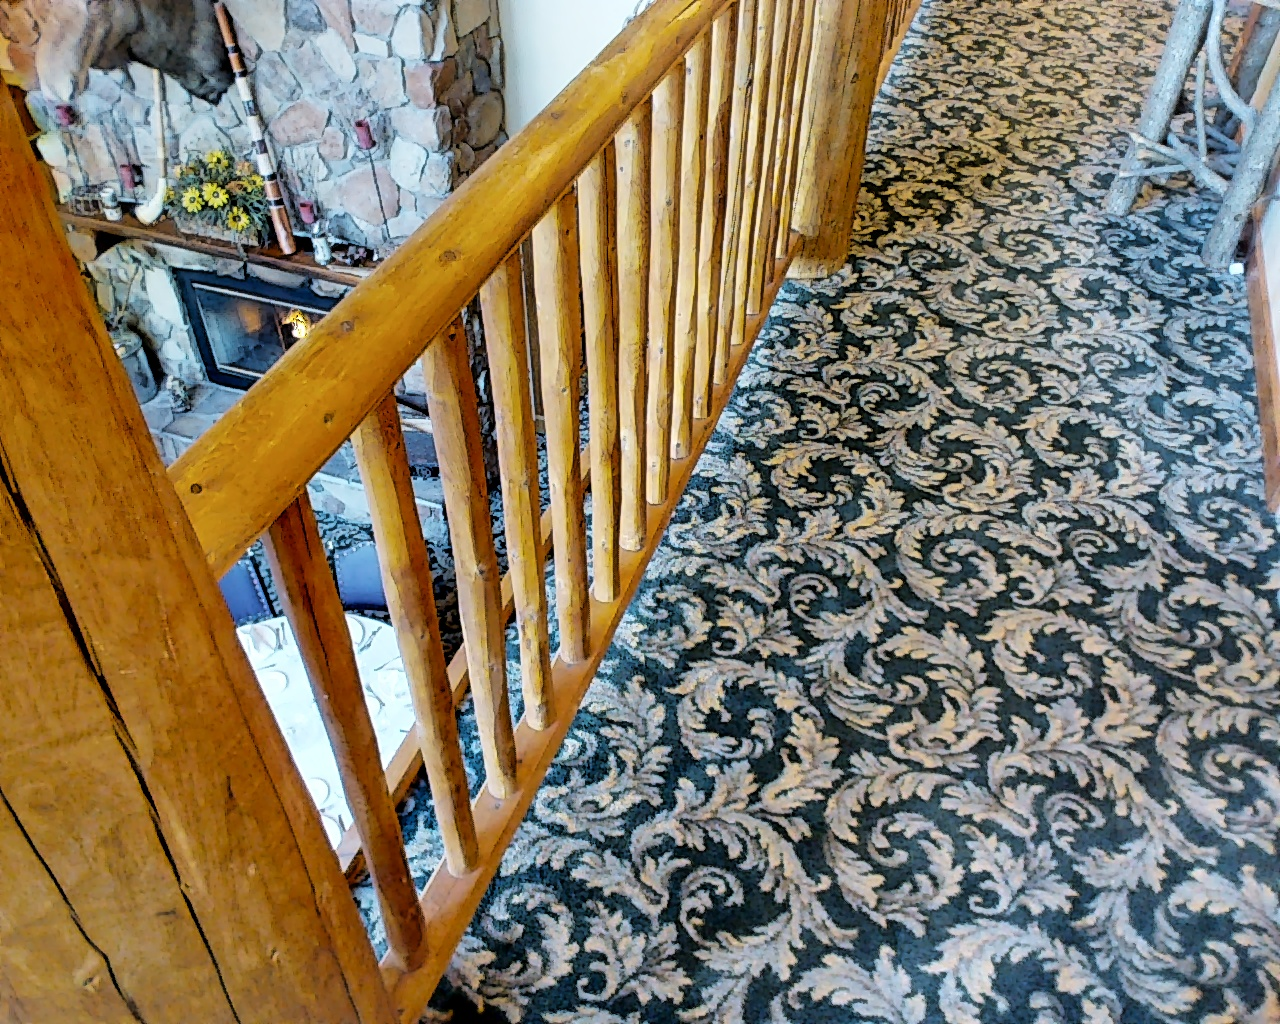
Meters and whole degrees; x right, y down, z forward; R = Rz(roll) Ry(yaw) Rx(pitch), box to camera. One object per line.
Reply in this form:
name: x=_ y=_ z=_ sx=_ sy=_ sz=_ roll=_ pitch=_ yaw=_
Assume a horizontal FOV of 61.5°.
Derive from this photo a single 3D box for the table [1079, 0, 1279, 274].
table: x=1.600 y=-1.250 z=3.070 sx=0.400 sy=0.770 sz=0.790 roll=15 pitch=45 yaw=15
